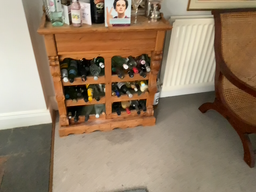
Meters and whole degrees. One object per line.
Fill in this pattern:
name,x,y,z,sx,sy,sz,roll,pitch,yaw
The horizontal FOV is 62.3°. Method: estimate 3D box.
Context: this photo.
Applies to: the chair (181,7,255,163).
chair,1.080,-0.180,1.830,0.710,0.880,1.040,-5,36,-12
